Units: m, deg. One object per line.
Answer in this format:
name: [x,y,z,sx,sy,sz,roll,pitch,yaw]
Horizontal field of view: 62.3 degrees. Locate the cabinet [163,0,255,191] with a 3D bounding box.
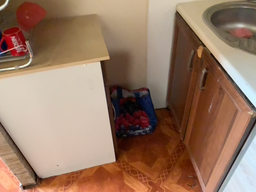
cabinet: [0.640,0.030,1.220,0.620,0.860,0.790,-7,43,-5]
